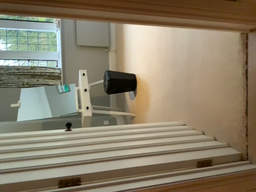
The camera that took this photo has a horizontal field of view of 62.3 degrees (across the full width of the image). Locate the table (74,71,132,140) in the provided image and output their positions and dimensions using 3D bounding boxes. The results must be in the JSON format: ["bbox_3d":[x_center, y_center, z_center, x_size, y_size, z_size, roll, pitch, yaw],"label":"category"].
[{"bbox_3d":[-0.460,0.140,3.500,0.620,0.750,0.910,109,152,-49],"label":"table"}]
